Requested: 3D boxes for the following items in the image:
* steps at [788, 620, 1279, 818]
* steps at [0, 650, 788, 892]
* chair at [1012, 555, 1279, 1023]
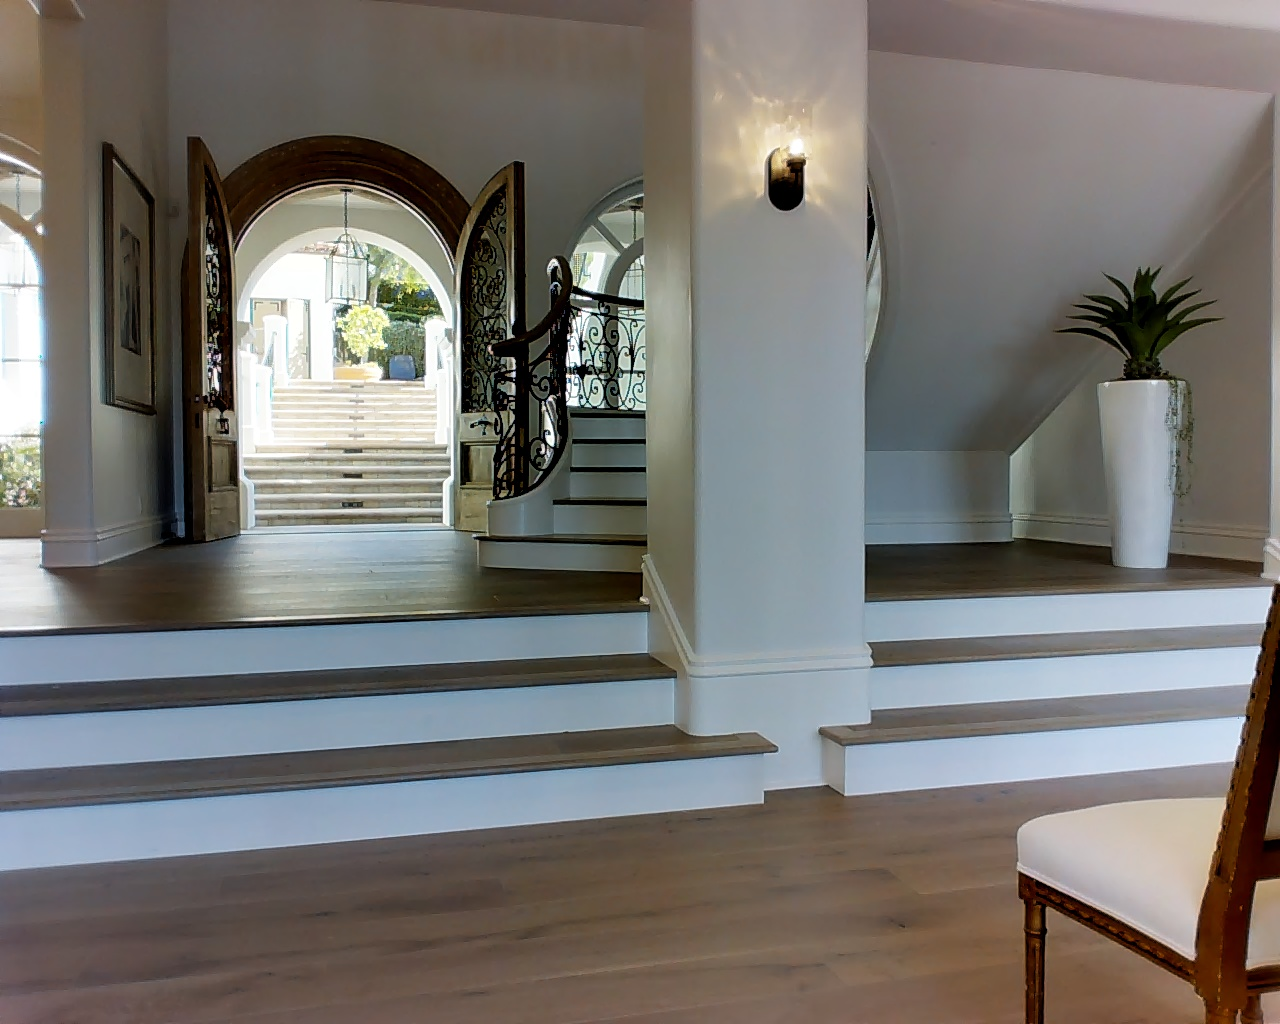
[{"bbox_3d":[1.909,0.710,4.020,2.659,0.460,0.590,-1,2,-15],"label":"steps"},{"bbox_3d":[-0.900,0.750,3.290,2.659,0.440,0.580,-1,2,-14],"label":"steps"},{"bbox_3d":[0.950,0.540,1.650,0.490,0.900,0.550,-1,2,-15],"label":"chair"}]
